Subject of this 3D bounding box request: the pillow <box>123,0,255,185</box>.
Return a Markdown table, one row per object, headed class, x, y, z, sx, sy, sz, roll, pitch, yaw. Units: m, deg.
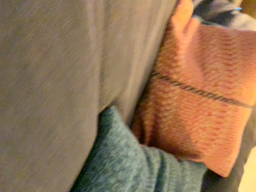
| class | x | y | z | sx | sy | sz | roll | pitch | yaw |
| --- | --- | --- | --- | --- | --- | --- | --- | --- | --- |
| pillow | 0.260 | -0.040 | 0.570 | 0.400 | 0.370 | 0.170 | -60 | -171 | -14 |
